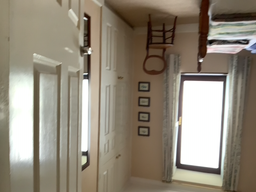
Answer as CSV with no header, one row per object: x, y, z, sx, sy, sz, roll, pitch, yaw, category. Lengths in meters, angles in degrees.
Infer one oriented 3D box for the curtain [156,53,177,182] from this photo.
0.640,0.360,3.540,0.240,2.120,0.130,3,-176,15,curtain
